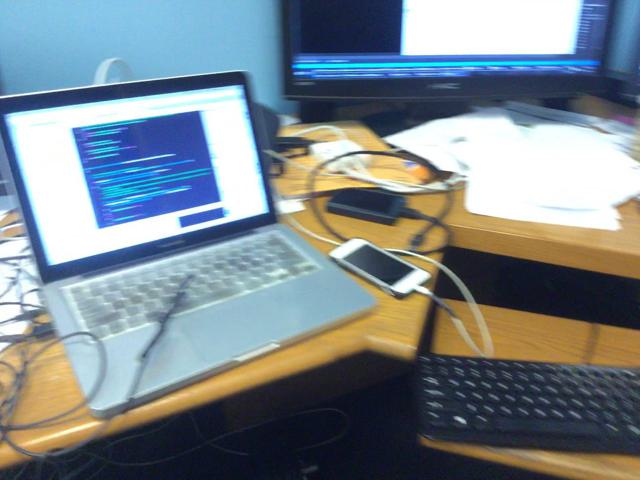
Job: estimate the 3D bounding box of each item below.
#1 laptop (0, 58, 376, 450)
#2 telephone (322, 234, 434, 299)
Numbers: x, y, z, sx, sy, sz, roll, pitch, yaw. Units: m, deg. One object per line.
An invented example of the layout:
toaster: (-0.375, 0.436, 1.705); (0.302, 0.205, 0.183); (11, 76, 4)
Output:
laptop: (-0.170, -0.030, 0.660); (0.330, 0.260, 0.330); (-15, 31, -24)
telephone: (0.070, 0.030, 0.730); (0.060, 0.010, 0.140); (-22, 35, -34)
